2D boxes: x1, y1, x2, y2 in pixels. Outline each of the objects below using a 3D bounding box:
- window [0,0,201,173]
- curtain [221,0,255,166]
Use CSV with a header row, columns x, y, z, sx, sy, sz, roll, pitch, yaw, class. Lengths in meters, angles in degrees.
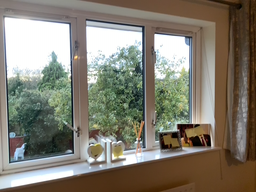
x,y,z,sx,sy,sz,roll,pitch,yaw,class
-0.090,-0.090,1.730,1.700,1.130,0.070,-2,3,-24,window
1.010,-0.170,1.880,0.230,1.500,0.220,-2,3,-24,curtain
